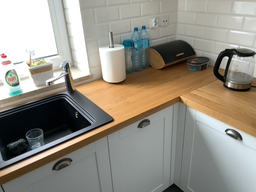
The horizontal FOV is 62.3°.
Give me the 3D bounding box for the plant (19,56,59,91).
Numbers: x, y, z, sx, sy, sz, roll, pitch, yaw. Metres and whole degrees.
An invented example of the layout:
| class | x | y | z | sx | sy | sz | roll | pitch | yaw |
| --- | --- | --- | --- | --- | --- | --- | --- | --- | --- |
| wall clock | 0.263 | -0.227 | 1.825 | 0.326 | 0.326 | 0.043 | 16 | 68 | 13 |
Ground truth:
| class | x | y | z | sx | sy | sz | roll | pitch | yaw |
| --- | --- | --- | --- | --- | --- | --- | --- | --- | --- |
| plant | -0.610 | -0.160 | 1.450 | 0.170 | 0.140 | 0.230 | -20 | 32 | -30 |
